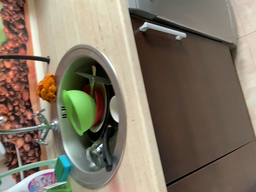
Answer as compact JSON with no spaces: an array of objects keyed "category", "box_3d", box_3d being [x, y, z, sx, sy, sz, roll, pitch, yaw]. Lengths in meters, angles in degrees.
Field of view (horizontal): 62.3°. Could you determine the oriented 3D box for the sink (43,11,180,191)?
[{"category":"sink","box_3d":[-0.110,0.060,0.810,0.480,0.180,0.520,-20,77,45]}]
